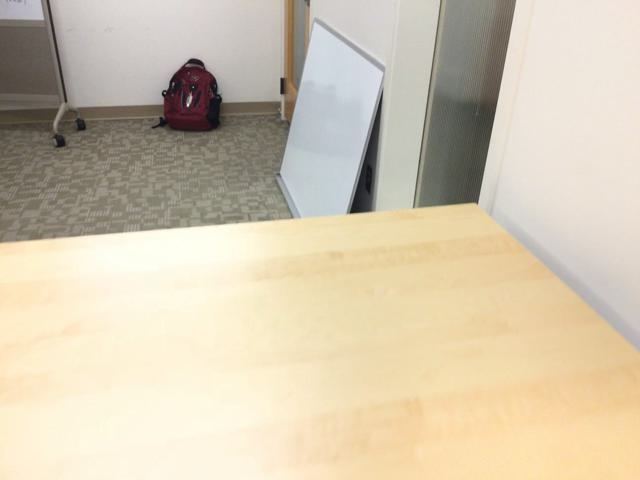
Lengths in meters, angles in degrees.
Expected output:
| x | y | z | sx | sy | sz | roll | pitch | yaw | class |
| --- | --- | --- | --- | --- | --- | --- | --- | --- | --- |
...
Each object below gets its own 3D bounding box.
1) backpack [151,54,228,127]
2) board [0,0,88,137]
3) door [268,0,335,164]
| x | y | z | sx | sy | sz | roll | pitch | yaw | class |
| --- | --- | --- | --- | --- | --- | --- | --- | --- | --- |
| -0.880 | -1.020 | 3.920 | 0.470 | 0.380 | 0.400 | -3 | 30 | -13 | backpack |
| -1.960 | -1.360 | 3.480 | 0.790 | 1.350 | 0.410 | 3 | 29 | -1 | board |
| -0.120 | -1.510 | 3.340 | 0.170 | 1.860 | 1.060 | -3 | 30 | -13 | door |
